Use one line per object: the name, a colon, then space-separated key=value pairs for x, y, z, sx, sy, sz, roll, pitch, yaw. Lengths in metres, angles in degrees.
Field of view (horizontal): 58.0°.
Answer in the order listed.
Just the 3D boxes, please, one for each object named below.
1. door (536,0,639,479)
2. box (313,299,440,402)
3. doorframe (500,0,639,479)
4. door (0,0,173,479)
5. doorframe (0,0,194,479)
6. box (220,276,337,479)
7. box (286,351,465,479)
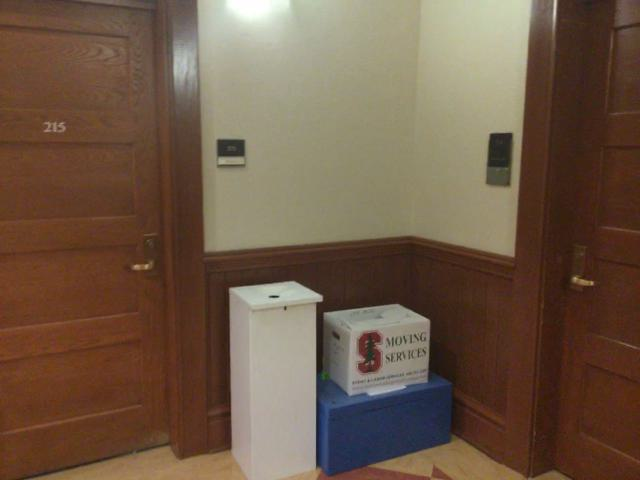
door: x=1.210 y=0.090 z=2.060 sx=0.120 sy=2.000 sz=0.830 roll=-3 pitch=9 yaw=-29
box: x=0.270 y=0.520 z=2.850 sx=0.480 sy=0.340 sz=0.390 roll=-3 pitch=9 yaw=-29
doorframe: x=1.160 y=0.020 z=2.030 sx=0.290 sy=2.150 sz=0.970 roll=-3 pitch=9 yaw=-29
door: x=-1.110 y=-0.010 z=2.420 sx=0.870 sy=2.100 sz=0.300 roll=-3 pitch=9 yaw=-29
doorframe: x=-1.060 y=-0.060 z=2.380 sx=0.970 sy=2.200 sz=0.330 roll=-3 pitch=9 yaw=-29
box: x=-0.200 y=0.620 z=2.640 sx=0.390 sy=0.820 sz=0.400 roll=-3 pitch=9 yaw=-29
box: x=0.270 y=0.830 z=2.840 sx=0.750 sy=0.350 sz=0.440 roll=-3 pitch=9 yaw=-29
